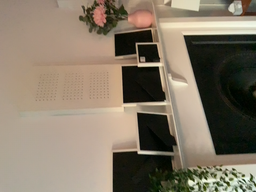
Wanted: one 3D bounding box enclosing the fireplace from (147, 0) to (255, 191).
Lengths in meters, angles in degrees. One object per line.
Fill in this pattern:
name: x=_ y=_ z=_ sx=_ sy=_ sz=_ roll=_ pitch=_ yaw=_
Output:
fireplace: x=0.870 y=-0.090 z=1.580 sx=0.690 sy=1.250 sz=1.510 roll=93 pitch=175 yaw=-58
